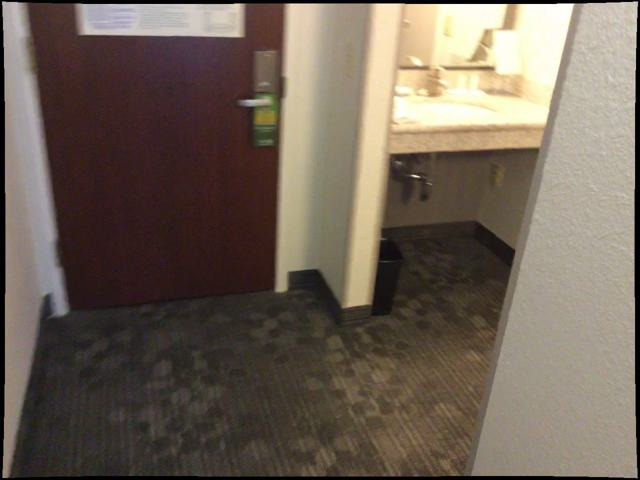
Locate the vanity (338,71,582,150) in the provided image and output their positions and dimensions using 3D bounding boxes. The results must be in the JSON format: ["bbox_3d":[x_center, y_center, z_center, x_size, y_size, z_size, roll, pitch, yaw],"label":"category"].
[{"bbox_3d":[0.609,-0.601,2.650,0.889,0.170,0.610,-3,30,-19],"label":"vanity"}]

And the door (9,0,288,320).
[{"bbox_3d":[-0.589,-0.571,2.110,0.899,1.851,0.140,-3,27,-19],"label":"door"}]
